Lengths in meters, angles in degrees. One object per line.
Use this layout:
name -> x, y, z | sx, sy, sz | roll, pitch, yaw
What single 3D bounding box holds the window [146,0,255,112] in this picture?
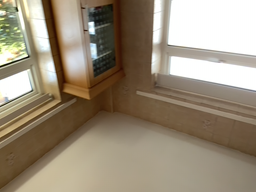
window -> 0.820, -0.520, 1.840 | 1.290, 1.130, 0.320 | 16, -146, 27
